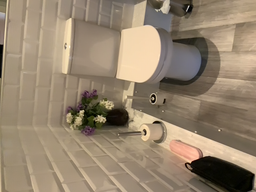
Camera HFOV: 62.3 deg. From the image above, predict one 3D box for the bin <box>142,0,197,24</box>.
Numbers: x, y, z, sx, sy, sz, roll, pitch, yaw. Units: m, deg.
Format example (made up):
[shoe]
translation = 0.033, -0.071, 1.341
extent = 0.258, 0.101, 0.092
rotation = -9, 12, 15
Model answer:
[bin]
translation = 0.310, -0.680, 1.580
extent = 0.240, 0.300, 0.190
rotation = 19, 103, 57

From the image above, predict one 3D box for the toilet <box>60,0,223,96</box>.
[toilet]
translation = 0.060, -0.260, 1.430
extent = 0.670, 0.820, 0.380
rotation = 17, 102, 57
